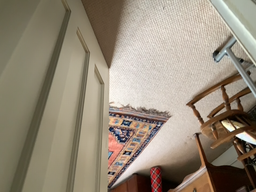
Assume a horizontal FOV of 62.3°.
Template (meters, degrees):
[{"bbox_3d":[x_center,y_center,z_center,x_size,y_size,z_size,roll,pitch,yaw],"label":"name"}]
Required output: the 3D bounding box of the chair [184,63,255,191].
[{"bbox_3d":[0.780,0.220,1.500,0.380,0.680,0.470,29,128,-30],"label":"chair"}]
